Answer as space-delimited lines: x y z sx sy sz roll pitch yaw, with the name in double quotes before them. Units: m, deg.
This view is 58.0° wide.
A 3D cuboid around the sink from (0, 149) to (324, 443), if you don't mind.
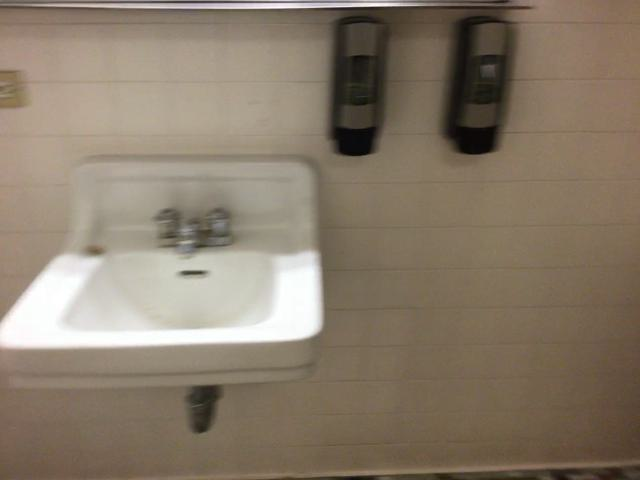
"sink" -0.270 0.070 1.070 0.540 0.350 0.450 -1 25 0
